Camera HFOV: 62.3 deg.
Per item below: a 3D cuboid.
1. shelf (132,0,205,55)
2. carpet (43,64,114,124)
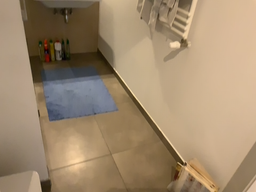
[{"bbox_3d":[0.290,-0.940,1.270,0.140,1.210,0.610,-10,39,-23],"label":"shelf"},{"bbox_3d":[-0.600,-0.090,2.360,0.590,0.020,1.020,-8,38,-21],"label":"carpet"}]
